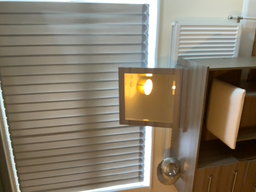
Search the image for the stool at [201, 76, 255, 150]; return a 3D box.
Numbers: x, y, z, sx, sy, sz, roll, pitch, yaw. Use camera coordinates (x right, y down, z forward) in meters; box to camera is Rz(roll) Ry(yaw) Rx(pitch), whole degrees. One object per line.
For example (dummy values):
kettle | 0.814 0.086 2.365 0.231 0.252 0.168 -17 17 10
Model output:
stool | 0.940 0.110 1.710 0.330 0.510 0.470 -125 34 -66
